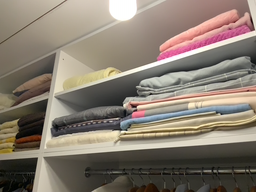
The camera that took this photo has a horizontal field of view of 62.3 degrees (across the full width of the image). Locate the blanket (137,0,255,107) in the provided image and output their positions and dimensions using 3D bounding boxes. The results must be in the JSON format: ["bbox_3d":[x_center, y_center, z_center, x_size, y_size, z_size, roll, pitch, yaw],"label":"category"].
[{"bbox_3d":[0.360,-0.200,0.940,0.430,0.300,0.510,-14,-26,33],"label":"blanket"}]

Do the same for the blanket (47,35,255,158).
[{"bbox_3d":[0.130,0.110,0.980,0.860,0.260,0.510,-13,-26,32],"label":"blanket"}]
